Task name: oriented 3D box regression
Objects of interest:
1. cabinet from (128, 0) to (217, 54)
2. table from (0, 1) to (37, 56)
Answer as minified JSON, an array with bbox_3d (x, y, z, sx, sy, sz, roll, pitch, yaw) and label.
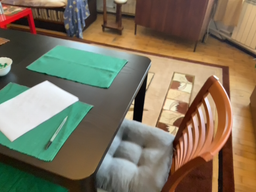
[{"bbox_3d":[0.620,-1.250,3.090,1.100,0.840,0.500,24,43,23],"label":"cabinet"},{"bbox_3d":[-1.670,-0.910,2.790,0.580,0.450,0.570,14,40,12],"label":"table"}]
